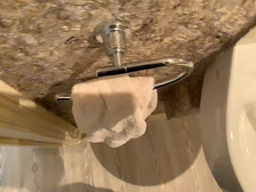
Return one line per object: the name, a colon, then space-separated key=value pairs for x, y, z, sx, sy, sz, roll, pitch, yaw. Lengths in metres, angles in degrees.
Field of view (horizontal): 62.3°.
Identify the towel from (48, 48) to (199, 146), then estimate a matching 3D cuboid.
towel: x=-0.030 y=0.060 z=0.620 sx=0.230 sy=0.570 sz=0.130 roll=-7 pitch=77 yaw=-6
